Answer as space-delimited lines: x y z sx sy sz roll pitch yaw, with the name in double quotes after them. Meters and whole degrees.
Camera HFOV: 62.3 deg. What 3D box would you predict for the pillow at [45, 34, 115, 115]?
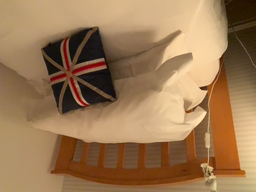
-0.190 -0.070 0.830 0.240 0.270 0.110 -4 180 29 "pillow"
